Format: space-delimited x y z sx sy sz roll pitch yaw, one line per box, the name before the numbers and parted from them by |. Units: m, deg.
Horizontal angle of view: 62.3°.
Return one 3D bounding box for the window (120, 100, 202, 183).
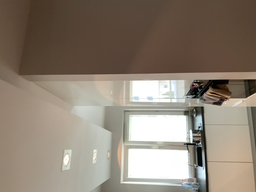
window | 0.630 0.870 4.260 0.120 1.530 1.580 68 -157 -75
